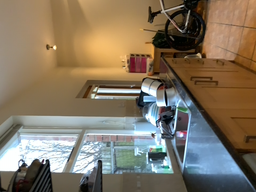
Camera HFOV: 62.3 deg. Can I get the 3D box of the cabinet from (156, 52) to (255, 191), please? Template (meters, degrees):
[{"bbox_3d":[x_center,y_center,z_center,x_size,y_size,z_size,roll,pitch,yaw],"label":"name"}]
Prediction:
[{"bbox_3d":[0.850,0.120,1.890,2.060,0.910,0.610,-90,1,-68],"label":"cabinet"}]

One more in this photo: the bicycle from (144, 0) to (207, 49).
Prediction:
[{"bbox_3d":[0.840,-1.770,3.770,0.550,0.980,1.700,-89,1,-66],"label":"bicycle"}]
